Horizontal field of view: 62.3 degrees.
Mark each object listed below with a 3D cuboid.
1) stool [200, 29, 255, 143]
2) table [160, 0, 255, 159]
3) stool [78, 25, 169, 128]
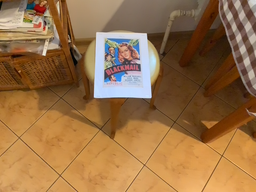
[{"bbox_3d":[0.620,-0.010,1.060,0.310,0.490,0.360,4,65,-2],"label":"stool"},{"bbox_3d":[0.800,-0.210,1.000,1.020,0.790,0.740,-6,65,-7],"label":"table"},{"bbox_3d":[-0.030,-0.060,1.030,0.330,0.440,0.310,1,65,-4],"label":"stool"}]
